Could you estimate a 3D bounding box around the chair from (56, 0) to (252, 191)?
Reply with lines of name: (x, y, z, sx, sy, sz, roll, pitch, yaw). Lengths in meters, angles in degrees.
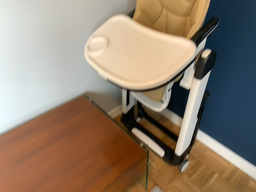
chair: (0.090, -0.090, 1.180, 0.550, 1.190, 0.620, -29, 48, -29)

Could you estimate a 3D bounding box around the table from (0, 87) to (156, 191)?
table: (-0.540, 0.520, 1.080, 1.220, 0.420, 0.660, -29, 48, -28)
